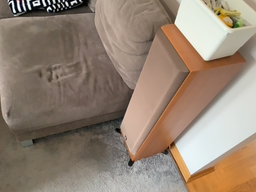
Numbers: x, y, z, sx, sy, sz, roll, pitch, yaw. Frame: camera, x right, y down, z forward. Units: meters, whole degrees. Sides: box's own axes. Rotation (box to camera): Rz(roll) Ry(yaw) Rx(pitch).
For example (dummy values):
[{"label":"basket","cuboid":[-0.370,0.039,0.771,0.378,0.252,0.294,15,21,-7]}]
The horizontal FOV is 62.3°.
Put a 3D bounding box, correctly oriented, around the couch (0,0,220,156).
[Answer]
[{"label":"couch","cuboid":[-0.290,-0.320,1.200,0.940,1.020,0.720,-12,59,-24]}]
